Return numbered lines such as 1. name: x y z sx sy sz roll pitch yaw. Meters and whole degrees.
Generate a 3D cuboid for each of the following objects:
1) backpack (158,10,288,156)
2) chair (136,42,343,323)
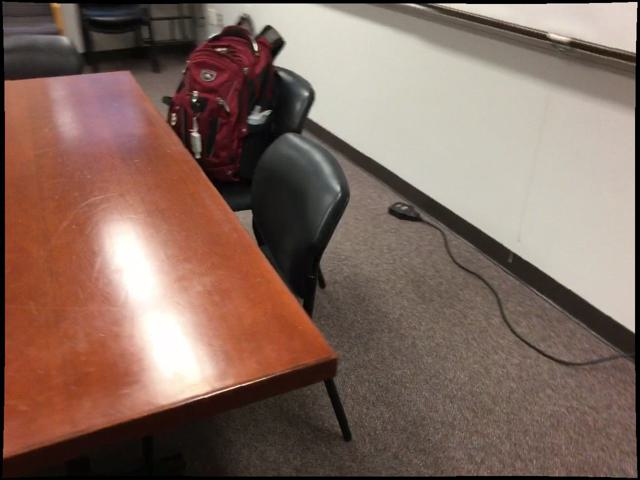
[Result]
1. backpack: -0.339 -0.541 2.040 0.250 0.411 0.280 22 14 21
2. chair: -0.299 -0.231 2.110 0.539 0.832 0.470 -13 34 -26
